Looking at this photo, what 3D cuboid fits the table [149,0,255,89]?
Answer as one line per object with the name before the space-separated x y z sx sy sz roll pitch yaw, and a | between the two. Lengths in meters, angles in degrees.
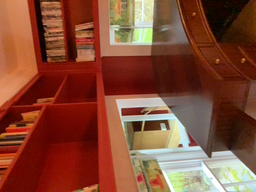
table | 0.720 -0.480 2.140 0.940 0.790 0.410 104 162 -64
